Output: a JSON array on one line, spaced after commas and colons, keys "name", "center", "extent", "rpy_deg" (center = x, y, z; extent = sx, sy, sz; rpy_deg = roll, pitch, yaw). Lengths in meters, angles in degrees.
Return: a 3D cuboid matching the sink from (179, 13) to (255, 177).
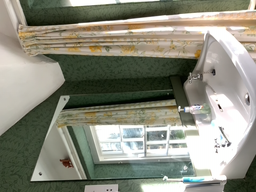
[{"name": "sink", "center": [0.470, -0.050, 1.050], "extent": [0.700, 0.240, 0.460], "rpy_deg": [-91, -2, -49]}]
